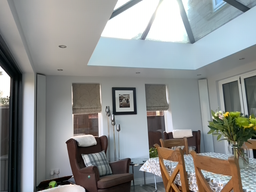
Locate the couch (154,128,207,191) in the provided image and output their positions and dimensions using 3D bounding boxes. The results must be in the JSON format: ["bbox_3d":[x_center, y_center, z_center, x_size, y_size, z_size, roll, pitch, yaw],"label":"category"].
[{"bbox_3d":[0.990,1.150,4.070,0.800,0.990,0.960,-4,-7,13],"label":"couch"}]

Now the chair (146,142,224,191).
[{"bbox_3d":[0.540,0.950,2.030,0.540,0.940,0.450,1,-8,-25],"label":"chair"}]

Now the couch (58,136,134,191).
[{"bbox_3d":[-0.520,1.150,3.380,0.930,0.960,0.760,-9,-10,42],"label":"couch"}]
